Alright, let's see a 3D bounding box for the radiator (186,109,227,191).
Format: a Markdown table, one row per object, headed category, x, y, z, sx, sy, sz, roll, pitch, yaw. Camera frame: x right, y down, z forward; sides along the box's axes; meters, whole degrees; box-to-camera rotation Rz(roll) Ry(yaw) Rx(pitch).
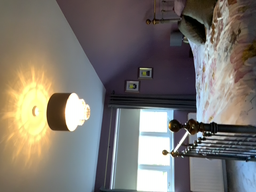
| category | x | y | z | sx | sy | sz | roll | pitch | yaw |
| --- | --- | --- | --- | --- | --- | --- | --- | --- | --- |
| radiator | 1.380 | 0.940 | 3.810 | 0.130 | 0.590 | 1.400 | 74 | -161 | -68 |
